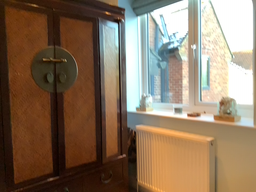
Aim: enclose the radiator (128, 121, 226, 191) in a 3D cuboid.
[{"bbox_3d":[0.380,0.630,1.900,0.150,0.680,0.910,-6,6,-43],"label":"radiator"}]
